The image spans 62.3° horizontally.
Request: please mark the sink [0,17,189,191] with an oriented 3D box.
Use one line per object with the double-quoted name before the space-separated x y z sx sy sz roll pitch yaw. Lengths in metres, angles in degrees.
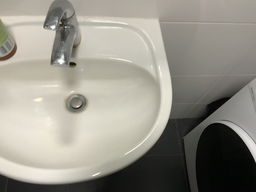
"sink" -0.140 0.010 0.570 0.490 0.160 0.420 -1 64 -7
